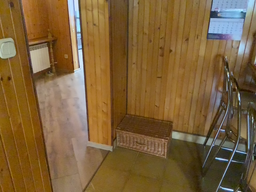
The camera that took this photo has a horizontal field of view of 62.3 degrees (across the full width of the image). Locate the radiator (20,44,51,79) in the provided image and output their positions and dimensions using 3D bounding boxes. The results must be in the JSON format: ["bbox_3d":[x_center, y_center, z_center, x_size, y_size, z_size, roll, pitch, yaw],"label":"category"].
[{"bbox_3d":[-2.010,-0.780,4.690,0.160,0.580,0.780,5,23,9],"label":"radiator"}]
